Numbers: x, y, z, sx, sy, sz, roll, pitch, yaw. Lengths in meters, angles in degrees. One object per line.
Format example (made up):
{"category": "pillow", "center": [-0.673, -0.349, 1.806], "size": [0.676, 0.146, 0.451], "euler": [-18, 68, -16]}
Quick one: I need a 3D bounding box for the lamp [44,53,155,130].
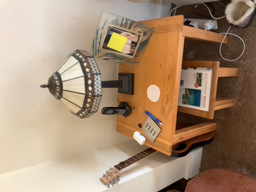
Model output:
{"category": "lamp", "center": [-0.140, -0.050, 1.090], "size": [0.280, 0.470, 0.280], "euler": [21, 110, 46]}
